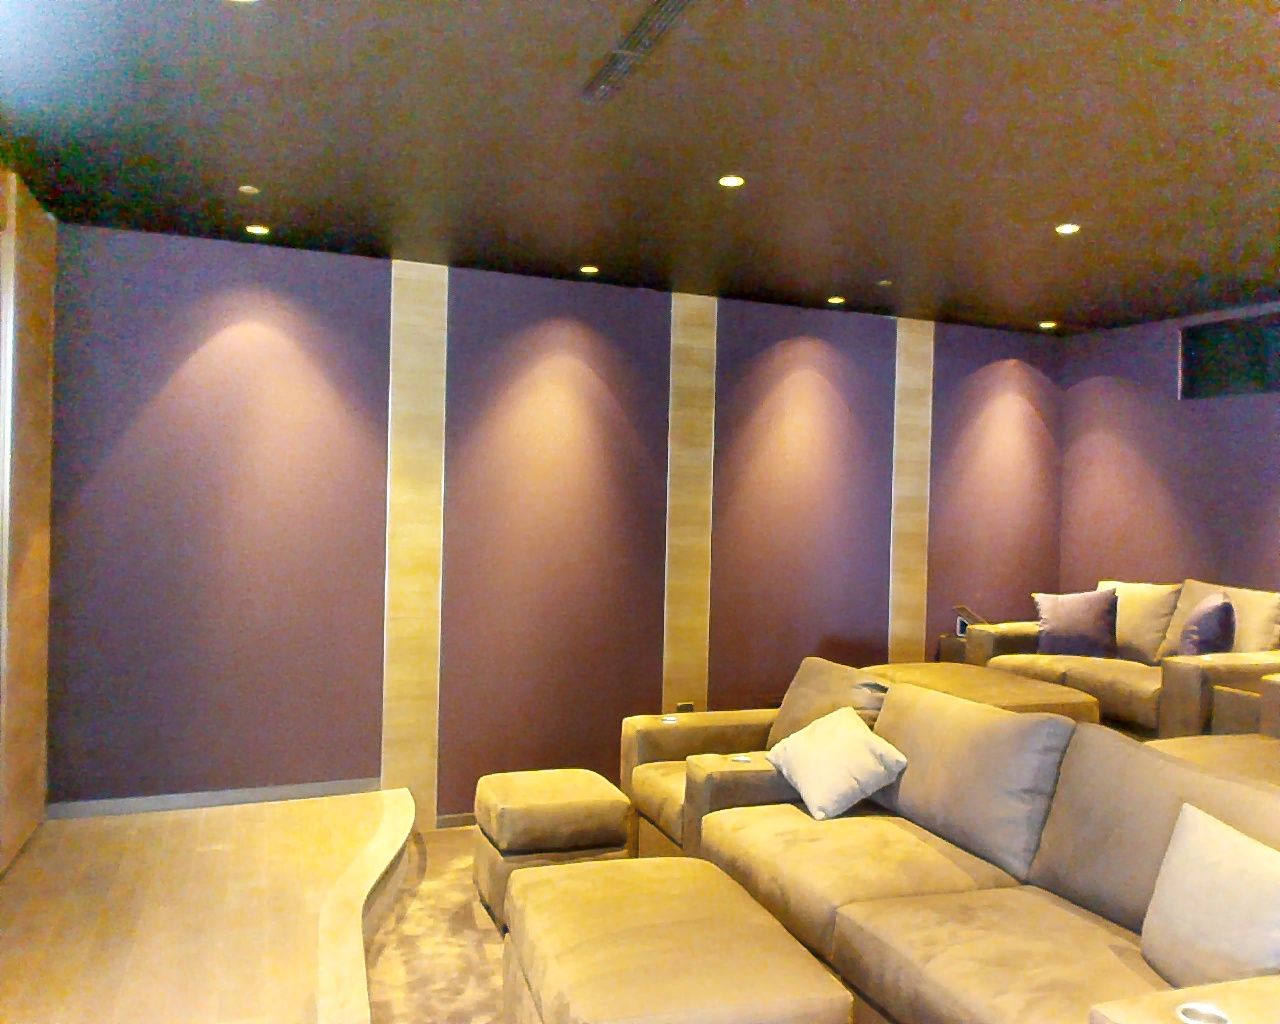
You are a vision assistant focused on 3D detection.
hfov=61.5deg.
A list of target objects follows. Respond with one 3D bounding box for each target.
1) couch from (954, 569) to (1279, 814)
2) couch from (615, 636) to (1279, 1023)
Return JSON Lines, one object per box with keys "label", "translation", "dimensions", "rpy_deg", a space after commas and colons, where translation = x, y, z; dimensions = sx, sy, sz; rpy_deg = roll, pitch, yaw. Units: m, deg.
{"label": "couch", "translation": [2.560, 0.810, 5.510], "dimensions": [1.000, 0.940, 1.630], "rpy_deg": [1, 0, -23]}
{"label": "couch", "translation": [1.020, 1.070, 3.050], "dimensions": [1.070, 0.960, 3.870], "rpy_deg": [1, 0, -18]}
